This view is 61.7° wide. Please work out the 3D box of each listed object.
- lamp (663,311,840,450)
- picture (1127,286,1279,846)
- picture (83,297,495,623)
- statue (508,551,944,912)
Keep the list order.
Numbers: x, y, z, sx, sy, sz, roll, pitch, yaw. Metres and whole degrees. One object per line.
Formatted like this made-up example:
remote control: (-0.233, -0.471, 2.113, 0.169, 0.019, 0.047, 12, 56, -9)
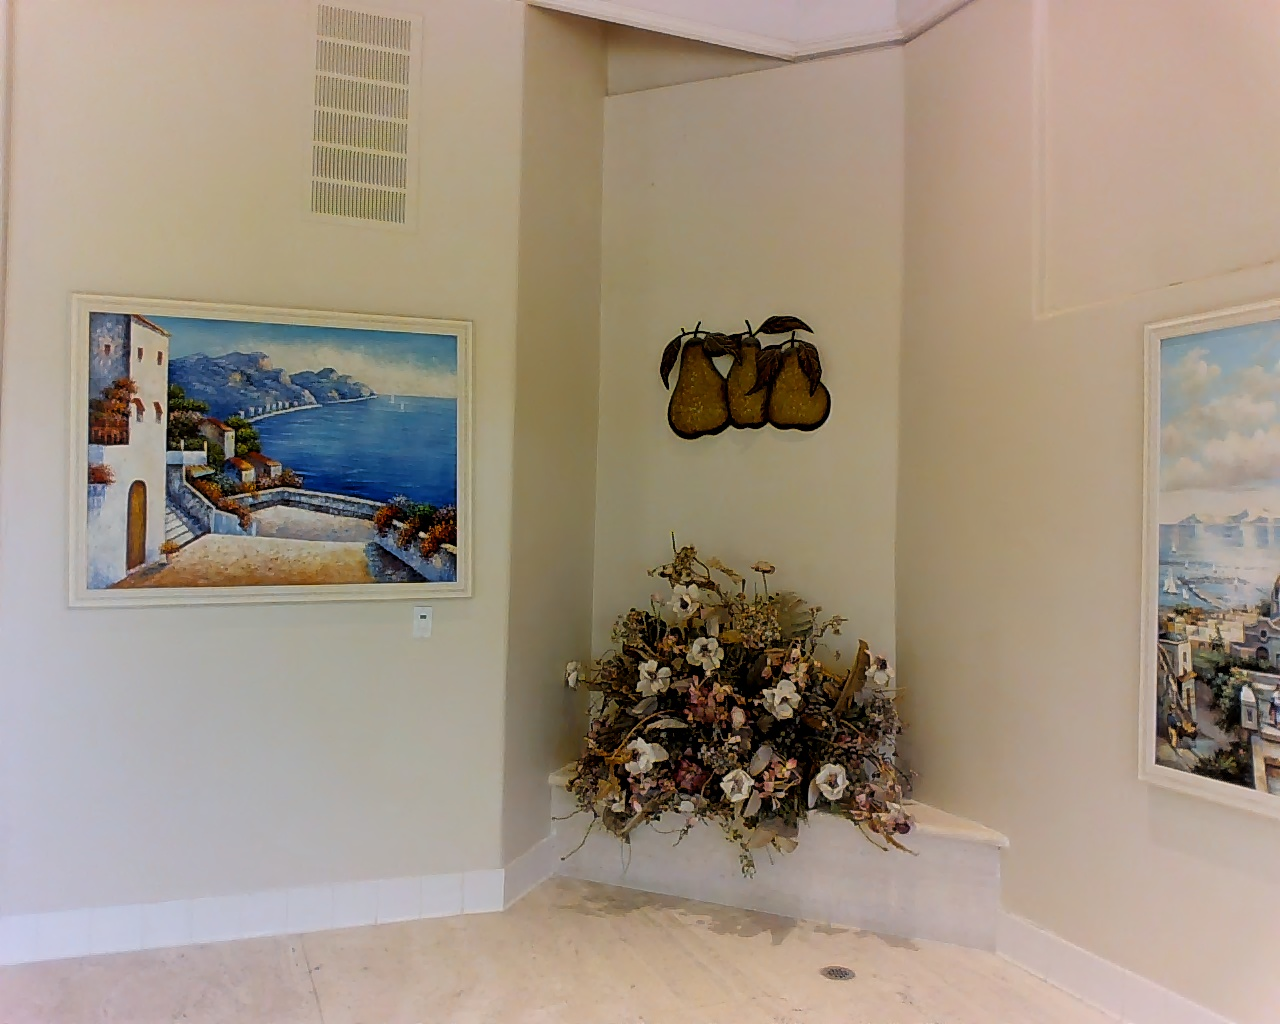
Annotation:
lamp: (0.460, -0.540, 4.480, 0.730, 0.540, 0.100, 1, -1, 23)
picture: (1.660, 0.130, 2.650, 0.050, 1.410, 1.070, 2, -1, -22)
picture: (-1.170, -0.150, 3.720, 1.330, 1.050, 0.050, 2, -1, -22)
statue: (0.350, 0.730, 4.110, 1.470, 1.120, 0.810, 1, -1, 23)
